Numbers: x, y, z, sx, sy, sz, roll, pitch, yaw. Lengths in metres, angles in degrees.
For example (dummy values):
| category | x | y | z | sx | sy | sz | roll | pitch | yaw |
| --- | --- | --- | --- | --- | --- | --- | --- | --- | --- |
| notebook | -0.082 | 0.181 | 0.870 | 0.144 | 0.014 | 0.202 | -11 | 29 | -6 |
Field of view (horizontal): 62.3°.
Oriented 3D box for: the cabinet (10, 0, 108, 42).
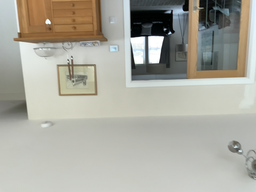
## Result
| category | x | y | z | sx | sy | sz | roll | pitch | yaw |
| --- | --- | --- | --- | --- | --- | --- | --- | --- | --- |
| cabinet | -0.790 | -1.400 | 2.520 | 1.000 | 1.420 | 0.540 | -1 | -169 | -1 |
